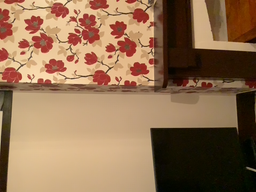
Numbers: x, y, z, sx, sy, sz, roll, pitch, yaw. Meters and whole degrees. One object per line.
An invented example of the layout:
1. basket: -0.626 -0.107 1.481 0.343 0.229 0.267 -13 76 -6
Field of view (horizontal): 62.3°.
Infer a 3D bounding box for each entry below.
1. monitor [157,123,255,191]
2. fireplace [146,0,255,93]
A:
1. monitor: 0.630 0.830 1.480 0.070 0.750 1.290 114 155 -68
2. fireplace: 0.790 -1.050 1.920 0.590 1.150 1.960 143 127 -78
